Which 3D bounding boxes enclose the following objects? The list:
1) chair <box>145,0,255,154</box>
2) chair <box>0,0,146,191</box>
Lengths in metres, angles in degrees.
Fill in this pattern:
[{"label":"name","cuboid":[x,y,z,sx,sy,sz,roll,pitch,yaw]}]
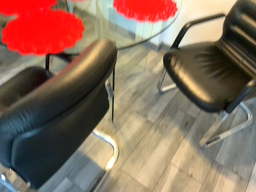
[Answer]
[{"label":"chair","cuboid":[0.620,-0.200,1.340,0.730,0.910,0.550,-17,54,-19]},{"label":"chair","cuboid":[-0.410,0.080,1.000,0.660,0.910,0.590,28,53,17]}]
